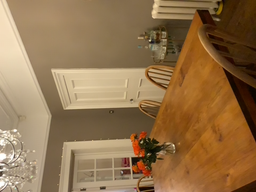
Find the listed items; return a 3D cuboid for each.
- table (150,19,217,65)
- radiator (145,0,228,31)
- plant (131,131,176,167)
[{"bbox_3d":[0.670,-0.680,2.700,0.390,0.670,0.390,98,168,-54],"label":"table"},{"bbox_3d":[0.660,-1.210,2.090,1.180,0.790,0.240,99,168,-55],"label":"radiator"},{"bbox_3d":[0.200,0.440,1.780,0.180,0.310,0.230,101,166,-51],"label":"plant"}]
